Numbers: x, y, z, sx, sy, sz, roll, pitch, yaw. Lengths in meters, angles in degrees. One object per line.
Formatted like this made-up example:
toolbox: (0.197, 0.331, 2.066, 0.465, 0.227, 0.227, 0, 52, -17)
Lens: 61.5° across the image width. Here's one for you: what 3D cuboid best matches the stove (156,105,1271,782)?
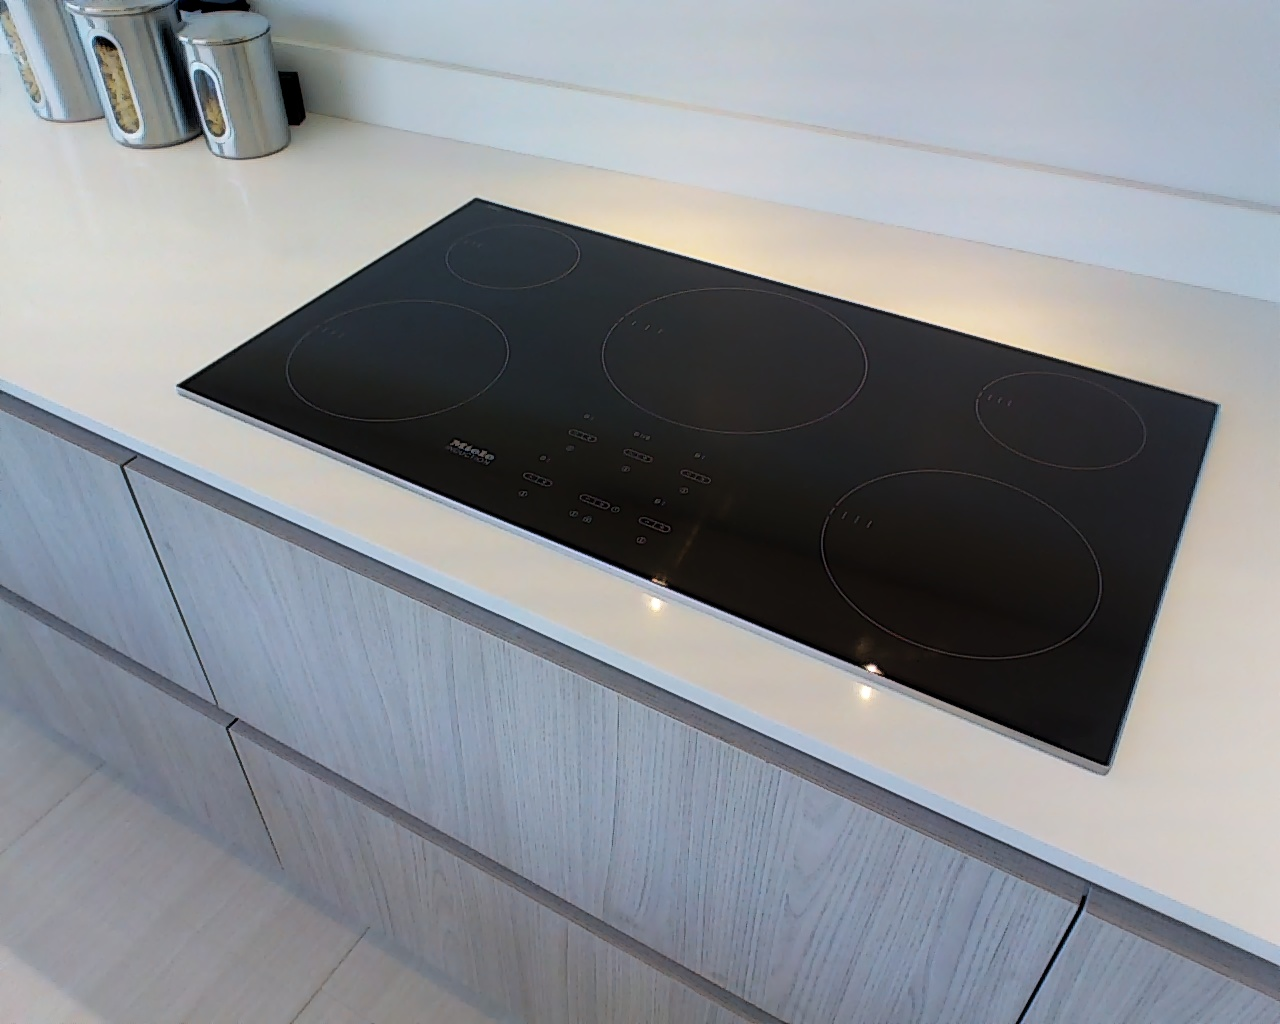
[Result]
stove: (0.110, -0.190, 1.140, 0.950, 0.070, 0.700, 20, 45, 20)
